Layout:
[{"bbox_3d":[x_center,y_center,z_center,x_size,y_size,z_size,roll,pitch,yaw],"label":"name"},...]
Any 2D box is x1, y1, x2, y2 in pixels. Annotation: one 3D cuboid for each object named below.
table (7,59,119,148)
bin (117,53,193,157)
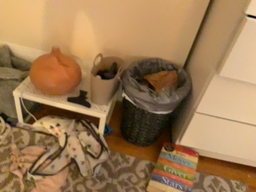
[{"bbox_3d":[-0.230,0.020,0.830,0.330,0.160,0.240,13,39,-1],"label":"table"},{"bbox_3d":[0.090,0.030,0.810,0.190,0.260,0.260,13,39,-2],"label":"bin"}]
